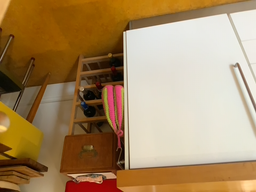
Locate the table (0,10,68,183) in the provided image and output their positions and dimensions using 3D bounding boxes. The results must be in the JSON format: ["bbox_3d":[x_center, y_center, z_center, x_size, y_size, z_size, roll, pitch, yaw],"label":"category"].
[{"bbox_3d":[-0.780,0.060,1.290,0.440,0.750,0.700,-9,148,12],"label":"table"}]
